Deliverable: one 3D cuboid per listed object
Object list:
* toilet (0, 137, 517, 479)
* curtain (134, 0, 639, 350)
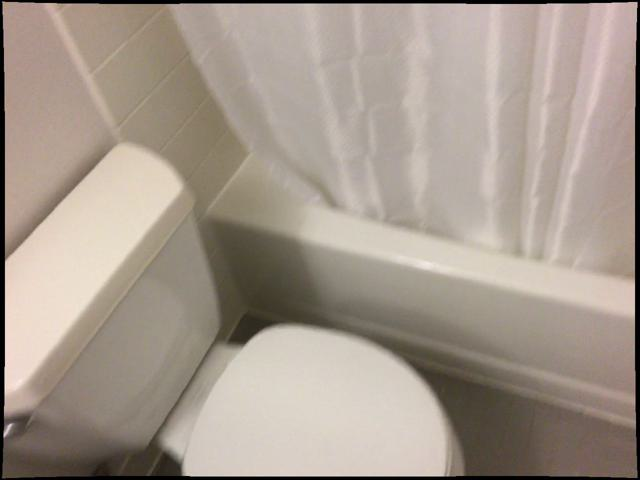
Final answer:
[{"bbox_3d":[-0.110,0.301,1.030,0.719,0.681,0.511,14,56,22],"label":"toilet"},{"bbox_3d":[0.170,-0.271,0.960,0.938,1.011,0.180,14,56,22],"label":"curtain"}]
